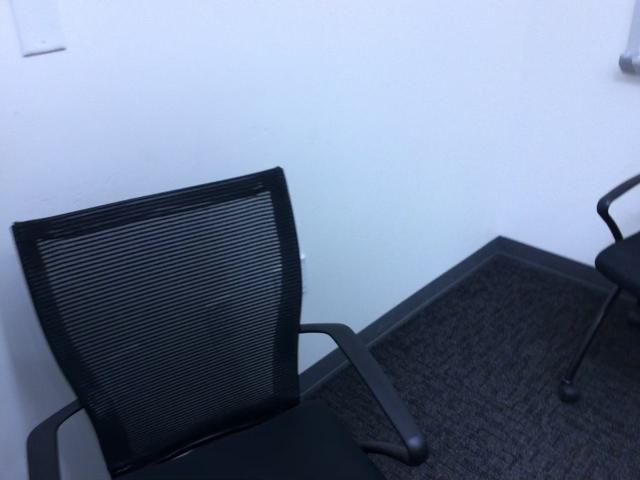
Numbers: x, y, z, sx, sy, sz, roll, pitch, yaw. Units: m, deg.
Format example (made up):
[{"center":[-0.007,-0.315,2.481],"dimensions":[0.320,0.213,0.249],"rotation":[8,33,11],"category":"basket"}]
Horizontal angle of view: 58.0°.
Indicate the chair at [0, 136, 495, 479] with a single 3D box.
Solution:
[{"center":[-0.150,0.380,1.000],"dimensions":[0.570,0.890,0.590],"rotation":[-16,30,-20],"category":"chair"}]
